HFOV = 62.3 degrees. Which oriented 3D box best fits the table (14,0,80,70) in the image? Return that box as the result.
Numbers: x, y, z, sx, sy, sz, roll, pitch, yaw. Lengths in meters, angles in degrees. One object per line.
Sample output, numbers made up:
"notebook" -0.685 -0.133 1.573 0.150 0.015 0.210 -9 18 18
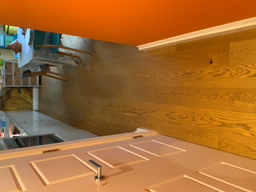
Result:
"table" -1.490 -1.020 3.790 1.300 0.780 0.930 0 91 53
